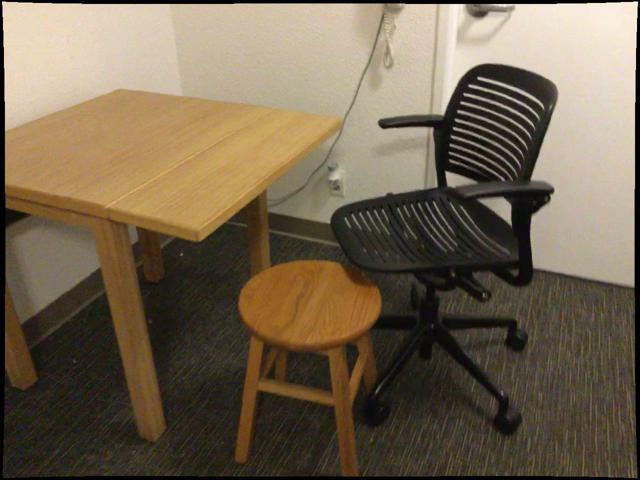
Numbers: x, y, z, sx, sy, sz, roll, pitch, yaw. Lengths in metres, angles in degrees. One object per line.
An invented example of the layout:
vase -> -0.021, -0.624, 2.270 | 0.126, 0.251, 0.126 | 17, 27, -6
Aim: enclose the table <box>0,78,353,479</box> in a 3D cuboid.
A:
table -> -0.499, 0.020, 1.810 | 0.979, 0.751, 0.810 | 11, 34, 20
